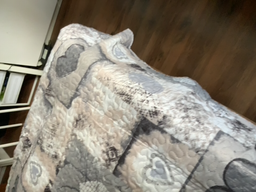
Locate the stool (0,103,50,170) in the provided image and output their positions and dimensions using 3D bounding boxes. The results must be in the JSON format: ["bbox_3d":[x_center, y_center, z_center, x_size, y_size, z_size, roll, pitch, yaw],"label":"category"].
[{"bbox_3d":[-0.890,0.280,1.500,0.320,0.450,0.330,36,108,27],"label":"stool"}]
